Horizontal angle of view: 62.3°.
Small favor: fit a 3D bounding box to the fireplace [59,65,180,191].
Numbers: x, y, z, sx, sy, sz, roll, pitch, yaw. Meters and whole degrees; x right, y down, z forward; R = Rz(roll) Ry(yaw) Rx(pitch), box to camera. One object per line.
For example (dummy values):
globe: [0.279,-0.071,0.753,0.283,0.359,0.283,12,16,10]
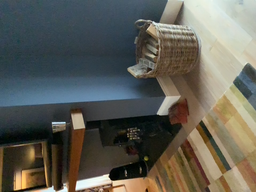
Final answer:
fireplace: [-0.330,0.590,3.000,1.850,1.150,0.930,109,149,-44]
